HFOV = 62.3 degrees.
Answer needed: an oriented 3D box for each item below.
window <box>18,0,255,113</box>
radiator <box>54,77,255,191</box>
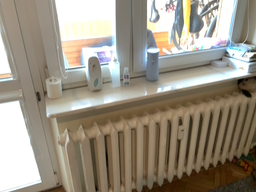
[{"bbox_3d":[0.210,-0.780,1.080,1.510,1.530,0.170,-12,29,-22],"label":"window"},{"bbox_3d":[0.350,0.390,1.530,1.550,0.810,0.180,-12,28,-21],"label":"radiator"}]
